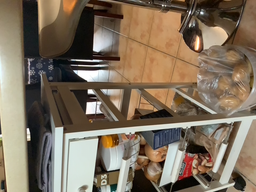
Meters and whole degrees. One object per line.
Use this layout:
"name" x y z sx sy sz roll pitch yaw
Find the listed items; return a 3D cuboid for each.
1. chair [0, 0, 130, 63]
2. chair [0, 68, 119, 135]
"chair" -0.590 -0.560 1.820 0.490 1.060 0.430 35 123 58
"chair" -0.710 0.010 2.070 0.510 1.090 0.430 39 126 57
